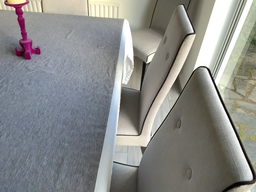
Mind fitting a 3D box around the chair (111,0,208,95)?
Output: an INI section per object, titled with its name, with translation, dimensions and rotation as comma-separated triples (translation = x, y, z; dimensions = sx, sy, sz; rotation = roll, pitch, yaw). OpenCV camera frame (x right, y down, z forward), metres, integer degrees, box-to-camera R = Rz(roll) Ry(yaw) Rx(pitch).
[chair]
translation = 0.290, -0.660, 2.130
dimensions = 0.740, 1.020, 0.480
rotation = -26, 50, -32
